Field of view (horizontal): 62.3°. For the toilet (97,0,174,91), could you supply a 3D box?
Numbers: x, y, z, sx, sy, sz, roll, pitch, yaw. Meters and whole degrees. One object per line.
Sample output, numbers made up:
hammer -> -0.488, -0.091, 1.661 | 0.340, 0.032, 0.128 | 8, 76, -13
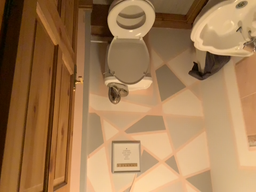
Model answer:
toilet -> 0.000, -0.540, 1.800 | 0.470, 0.800, 0.690 | 2, 164, -12
